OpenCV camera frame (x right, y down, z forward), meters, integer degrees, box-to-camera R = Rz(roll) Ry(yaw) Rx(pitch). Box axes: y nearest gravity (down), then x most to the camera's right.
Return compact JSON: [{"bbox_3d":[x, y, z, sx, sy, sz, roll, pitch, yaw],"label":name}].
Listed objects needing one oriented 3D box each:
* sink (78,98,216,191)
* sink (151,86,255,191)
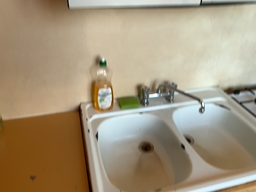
[{"bbox_3d":[0.020,0.250,0.930,0.410,0.170,0.550,-7,33,-15],"label":"sink"},{"bbox_3d":[0.420,0.190,1.030,0.420,0.200,0.550,-7,33,-15],"label":"sink"}]
